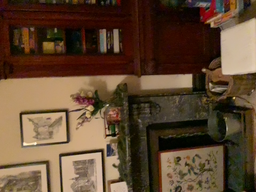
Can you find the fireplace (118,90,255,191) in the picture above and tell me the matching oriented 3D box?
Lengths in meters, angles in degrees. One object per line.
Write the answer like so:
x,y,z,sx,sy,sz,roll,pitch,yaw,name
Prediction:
0.570,0.810,2.170,0.610,1.180,1.690,177,90,-76,fireplace
